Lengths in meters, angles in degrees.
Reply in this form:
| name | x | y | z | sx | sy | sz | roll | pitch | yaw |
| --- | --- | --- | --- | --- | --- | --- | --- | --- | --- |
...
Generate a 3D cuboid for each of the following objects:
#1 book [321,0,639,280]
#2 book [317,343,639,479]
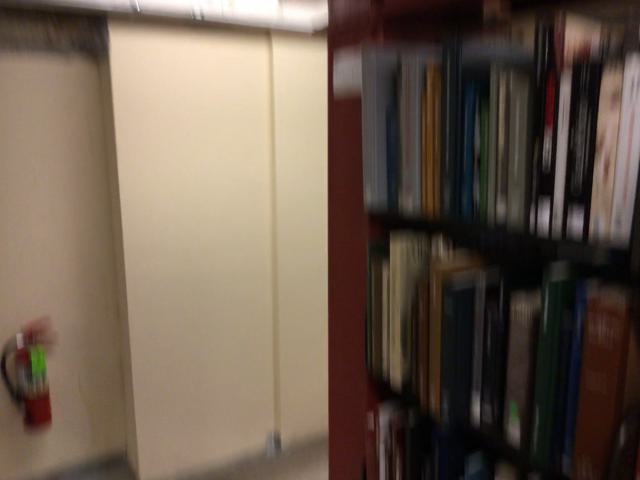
| name | x | y | z | sx | sy | sz | roll | pitch | yaw |
| --- | --- | --- | --- | --- | --- | --- | --- | --- | --- |
| book | 0.360 | -0.170 | 0.850 | 0.300 | 0.330 | 0.830 | -8 | 15 | -33 |
| book | 0.270 | 0.520 | 1.110 | 0.250 | 0.420 | 0.610 | -8 | 15 | -33 |
